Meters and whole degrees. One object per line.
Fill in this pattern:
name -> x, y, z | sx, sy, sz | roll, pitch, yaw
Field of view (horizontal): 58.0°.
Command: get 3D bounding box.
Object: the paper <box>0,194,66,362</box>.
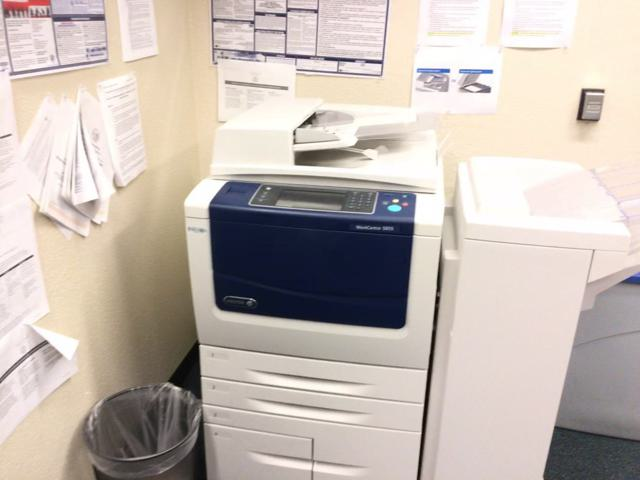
paper -> -0.620, 0.070, 1.190 | 0.030, 0.280, 0.220 | 3, 19, 8

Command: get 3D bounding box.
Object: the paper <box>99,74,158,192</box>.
paper -> -0.520, -0.300, 1.590 | 0.030, 0.290, 0.220 | 3, 19, 8

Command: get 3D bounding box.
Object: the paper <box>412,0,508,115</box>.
paper -> 0.440, -0.600, 1.850 | 0.270, 0.380, 0.070 | 3, 19, 9

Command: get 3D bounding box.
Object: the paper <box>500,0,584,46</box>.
paper -> 0.670, -0.730, 1.730 | 0.220, 0.280, 0.040 | 3, 19, 9

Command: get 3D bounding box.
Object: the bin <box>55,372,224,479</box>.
bin -> -0.460, 0.550, 1.550 | 0.300, 0.220, 0.330 | 3, 19, 8

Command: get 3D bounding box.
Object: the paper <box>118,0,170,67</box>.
paper -> -0.490, -0.760, 1.560 | 0.030, 0.550, 0.230 | 3, 19, 8

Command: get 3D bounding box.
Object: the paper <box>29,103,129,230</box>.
paper -> -0.550, -0.180, 1.350 | 0.080, 0.250, 0.230 | 3, 19, 8
